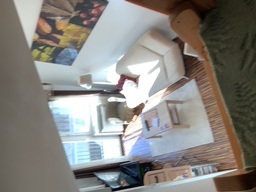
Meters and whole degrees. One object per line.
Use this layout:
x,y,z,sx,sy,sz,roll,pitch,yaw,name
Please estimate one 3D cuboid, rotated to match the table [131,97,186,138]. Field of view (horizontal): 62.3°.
0.600,0.490,4.480,1.110,0.460,0.580,-34,58,51,table
